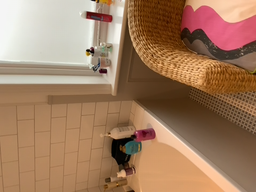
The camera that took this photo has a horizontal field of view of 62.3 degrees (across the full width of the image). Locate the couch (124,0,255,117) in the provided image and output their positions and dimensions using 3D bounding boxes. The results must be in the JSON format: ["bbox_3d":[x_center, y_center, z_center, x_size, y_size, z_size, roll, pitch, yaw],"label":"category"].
[{"bbox_3d":[0.540,-0.450,1.070,0.740,0.770,0.800,41,127,54],"label":"couch"}]
